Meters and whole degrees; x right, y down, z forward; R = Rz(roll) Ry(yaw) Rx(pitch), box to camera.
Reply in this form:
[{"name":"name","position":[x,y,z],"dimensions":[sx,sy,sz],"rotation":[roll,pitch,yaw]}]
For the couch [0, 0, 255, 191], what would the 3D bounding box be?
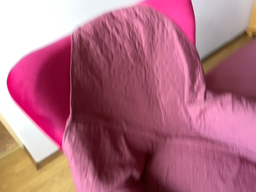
[{"name":"couch","position":[0.210,0.240,0.850],"dimensions":[0.820,1.010,0.750],"rotation":[30,54,35]}]
